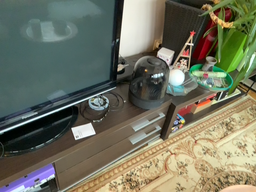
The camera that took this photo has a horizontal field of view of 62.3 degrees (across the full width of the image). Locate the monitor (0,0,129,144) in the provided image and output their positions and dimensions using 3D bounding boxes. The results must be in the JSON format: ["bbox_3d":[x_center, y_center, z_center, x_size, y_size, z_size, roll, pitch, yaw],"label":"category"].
[{"bbox_3d":[-0.440,-0.110,0.860,1.020,0.690,0.060,-23,51,-32],"label":"monitor"}]
